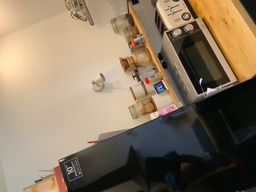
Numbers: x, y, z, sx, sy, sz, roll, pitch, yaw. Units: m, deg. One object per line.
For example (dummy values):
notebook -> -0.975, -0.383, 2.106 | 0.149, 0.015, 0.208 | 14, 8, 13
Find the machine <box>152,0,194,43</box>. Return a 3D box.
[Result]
machine -> 0.300, -0.570, 1.490 | 0.250, 0.170, 0.250 | 74, 174, -74
